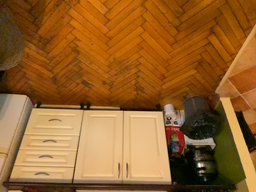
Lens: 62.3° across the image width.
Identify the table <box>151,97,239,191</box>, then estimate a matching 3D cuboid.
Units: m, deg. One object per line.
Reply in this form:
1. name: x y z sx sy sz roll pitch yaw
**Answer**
1. table: 0.580 0.540 2.160 0.560 0.870 0.600 1 143 -2
